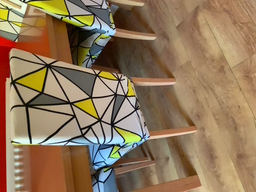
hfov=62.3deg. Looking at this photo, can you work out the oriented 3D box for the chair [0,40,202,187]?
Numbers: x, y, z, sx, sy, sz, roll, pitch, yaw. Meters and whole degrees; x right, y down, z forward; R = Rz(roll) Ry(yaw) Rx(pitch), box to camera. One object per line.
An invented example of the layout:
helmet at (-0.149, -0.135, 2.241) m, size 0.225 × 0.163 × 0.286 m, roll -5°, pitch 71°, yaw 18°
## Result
chair at (-0.160, 0.120, 1.160) m, size 0.510 × 0.930 × 0.420 m, roll -46°, pitch 53°, yaw 42°
